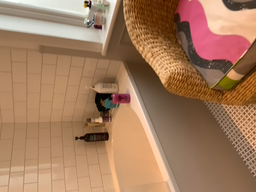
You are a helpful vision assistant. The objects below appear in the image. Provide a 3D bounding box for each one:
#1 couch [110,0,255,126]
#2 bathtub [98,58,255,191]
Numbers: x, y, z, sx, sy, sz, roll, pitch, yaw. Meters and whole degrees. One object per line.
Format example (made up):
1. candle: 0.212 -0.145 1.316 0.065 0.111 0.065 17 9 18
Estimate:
1. couch: 0.470 -0.430 1.030 0.800 0.780 0.800 115 147 -40
2. bathtub: 0.350 0.680 1.480 0.800 0.620 1.920 115 147 -41
